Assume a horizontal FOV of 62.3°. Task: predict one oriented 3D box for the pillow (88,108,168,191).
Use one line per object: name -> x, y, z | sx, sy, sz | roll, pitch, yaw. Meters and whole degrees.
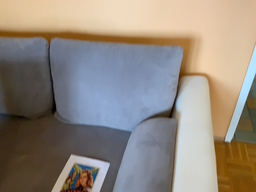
pillow -> 0.030, 0.290, 0.930 | 0.220, 0.200, 0.450 | 8, 39, 14
